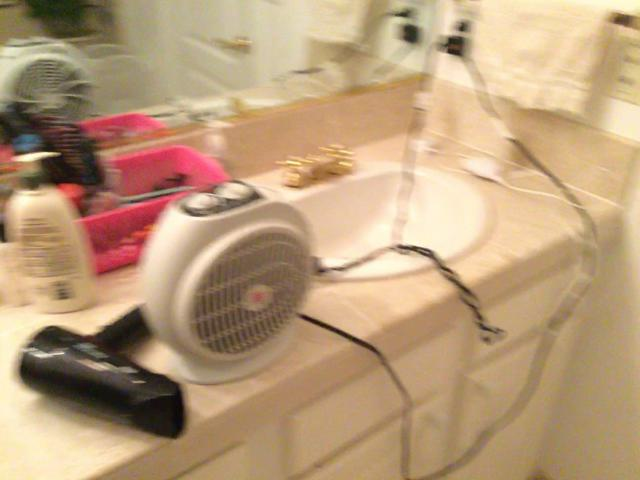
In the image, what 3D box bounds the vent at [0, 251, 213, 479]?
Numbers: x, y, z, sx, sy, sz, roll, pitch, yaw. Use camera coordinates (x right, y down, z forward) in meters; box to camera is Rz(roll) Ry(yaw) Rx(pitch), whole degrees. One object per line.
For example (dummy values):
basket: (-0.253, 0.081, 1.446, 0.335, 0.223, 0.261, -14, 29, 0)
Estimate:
vent: (-0.280, 0.140, 0.710, 0.170, 0.100, 0.310, -18, 31, -29)
